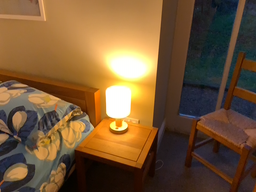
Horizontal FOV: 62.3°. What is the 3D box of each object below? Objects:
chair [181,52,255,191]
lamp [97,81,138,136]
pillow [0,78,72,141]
[{"bbox_3d":[0.810,0.210,1.610,0.490,0.930,0.460,-16,32,-32],"label":"chair"},{"bbox_3d":[-0.070,0.080,1.510,0.200,0.290,0.230,11,28,17],"label":"lamp"},{"bbox_3d":[-0.750,0.060,1.450,0.570,0.150,0.400,12,28,19],"label":"pillow"}]
